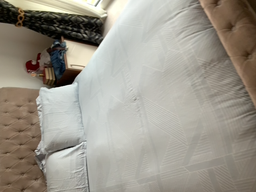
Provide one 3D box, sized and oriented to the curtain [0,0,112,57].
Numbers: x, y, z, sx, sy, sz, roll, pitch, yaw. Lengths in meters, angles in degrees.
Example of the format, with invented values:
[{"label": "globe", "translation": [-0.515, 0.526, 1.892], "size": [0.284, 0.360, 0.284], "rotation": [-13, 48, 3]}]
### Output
[{"label": "curtain", "translation": [-1.360, -0.860, 2.190], "size": [0.560, 2.450, 0.220], "rotation": [-41, 55, 44]}]
